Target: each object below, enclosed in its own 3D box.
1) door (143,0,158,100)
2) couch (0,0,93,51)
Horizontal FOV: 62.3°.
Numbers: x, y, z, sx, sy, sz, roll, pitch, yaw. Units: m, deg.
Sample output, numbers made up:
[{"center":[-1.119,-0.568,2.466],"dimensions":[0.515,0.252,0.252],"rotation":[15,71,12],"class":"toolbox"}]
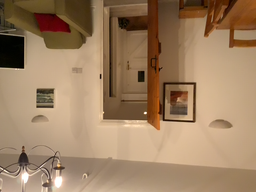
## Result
[{"center":[0.290,-0.750,2.820],"dimensions":[0.100,1.580,0.780],"rotation":[0,-179,-1],"class":"door"},{"center":[-1.030,-1.140,2.930],"dimensions":[0.810,0.800,1.000],"rotation":[0,-179,9],"class":"couch"}]
